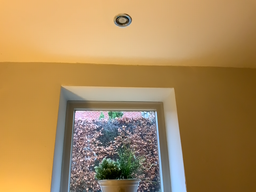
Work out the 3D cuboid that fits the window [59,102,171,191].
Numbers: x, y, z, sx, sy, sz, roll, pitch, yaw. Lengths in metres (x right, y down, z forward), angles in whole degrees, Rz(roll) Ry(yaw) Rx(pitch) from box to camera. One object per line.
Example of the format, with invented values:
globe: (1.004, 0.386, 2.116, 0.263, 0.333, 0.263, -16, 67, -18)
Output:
window: (-0.090, 0.380, 1.550, 0.750, 0.700, 0.040, 0, -21, -7)
